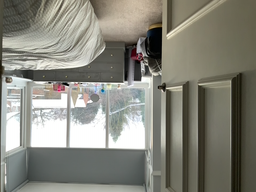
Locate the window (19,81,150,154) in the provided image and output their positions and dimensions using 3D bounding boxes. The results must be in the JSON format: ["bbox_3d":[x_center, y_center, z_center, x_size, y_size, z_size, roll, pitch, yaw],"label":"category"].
[{"bbox_3d":[-0.860,0.420,4.340,2.580,1.410,0.340,0,179,1],"label":"window"}]
